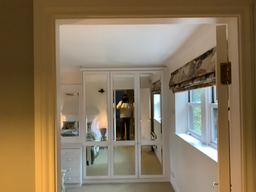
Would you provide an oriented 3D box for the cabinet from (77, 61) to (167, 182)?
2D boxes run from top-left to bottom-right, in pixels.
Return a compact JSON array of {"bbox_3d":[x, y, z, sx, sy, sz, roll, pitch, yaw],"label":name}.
[{"bbox_3d":[-0.120,0.500,4.350,1.740,2.360,0.270,-1,-1,-1],"label":"cabinet"}]
